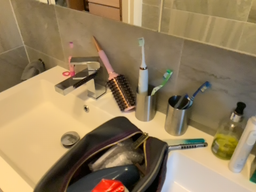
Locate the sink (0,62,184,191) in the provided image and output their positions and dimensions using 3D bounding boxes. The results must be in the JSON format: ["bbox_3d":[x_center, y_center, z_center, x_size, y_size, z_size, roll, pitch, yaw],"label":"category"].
[{"bbox_3d":[-0.230,0.140,0.680,0.650,0.160,0.450,24,43,28],"label":"sink"}]
